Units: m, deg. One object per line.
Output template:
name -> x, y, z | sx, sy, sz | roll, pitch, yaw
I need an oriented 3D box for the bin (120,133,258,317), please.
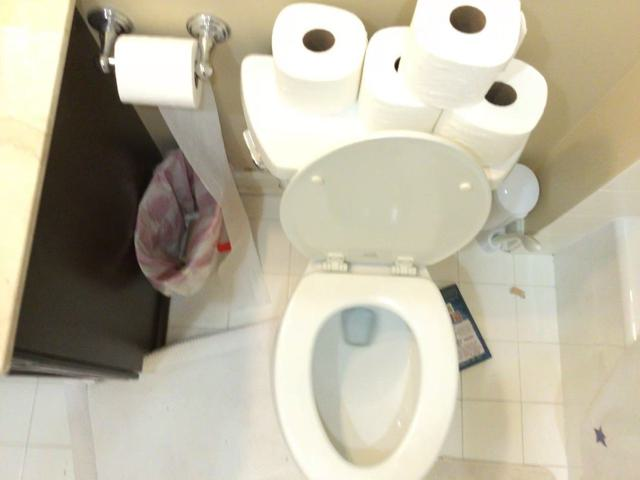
bin -> -0.290, -0.020, 1.390 | 0.230, 0.350, 0.320 | 2, -17, 0

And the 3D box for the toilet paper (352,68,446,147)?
toilet paper -> 0.110, -0.190, 0.840 | 0.120, 0.060, 0.110 | 2, -17, 0

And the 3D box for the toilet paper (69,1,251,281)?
toilet paper -> -0.270, -0.130, 1.200 | 0.160, 0.260, 0.740 | 2, -17, 0

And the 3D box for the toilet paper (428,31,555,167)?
toilet paper -> 0.240, -0.200, 0.840 | 0.140, 0.140, 0.130 | 2, -17, 0

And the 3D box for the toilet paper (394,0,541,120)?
toilet paper -> 0.180, -0.260, 0.750 | 0.150, 0.150, 0.140 | 2, -17, 0

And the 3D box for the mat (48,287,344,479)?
mat -> -0.300, 0.430, 1.390 | 0.670, 0.560, 0.060 | -7, -17, -3
